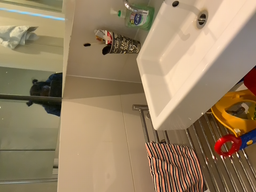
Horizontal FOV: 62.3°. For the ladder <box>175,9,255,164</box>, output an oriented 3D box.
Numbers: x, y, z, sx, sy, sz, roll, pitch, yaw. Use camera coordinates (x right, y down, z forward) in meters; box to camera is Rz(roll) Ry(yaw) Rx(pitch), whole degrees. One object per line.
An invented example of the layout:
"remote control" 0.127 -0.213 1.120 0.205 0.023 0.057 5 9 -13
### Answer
"ladder" 0.620 -0.010 1.040 0.540 0.450 0.470 116 151 -47
